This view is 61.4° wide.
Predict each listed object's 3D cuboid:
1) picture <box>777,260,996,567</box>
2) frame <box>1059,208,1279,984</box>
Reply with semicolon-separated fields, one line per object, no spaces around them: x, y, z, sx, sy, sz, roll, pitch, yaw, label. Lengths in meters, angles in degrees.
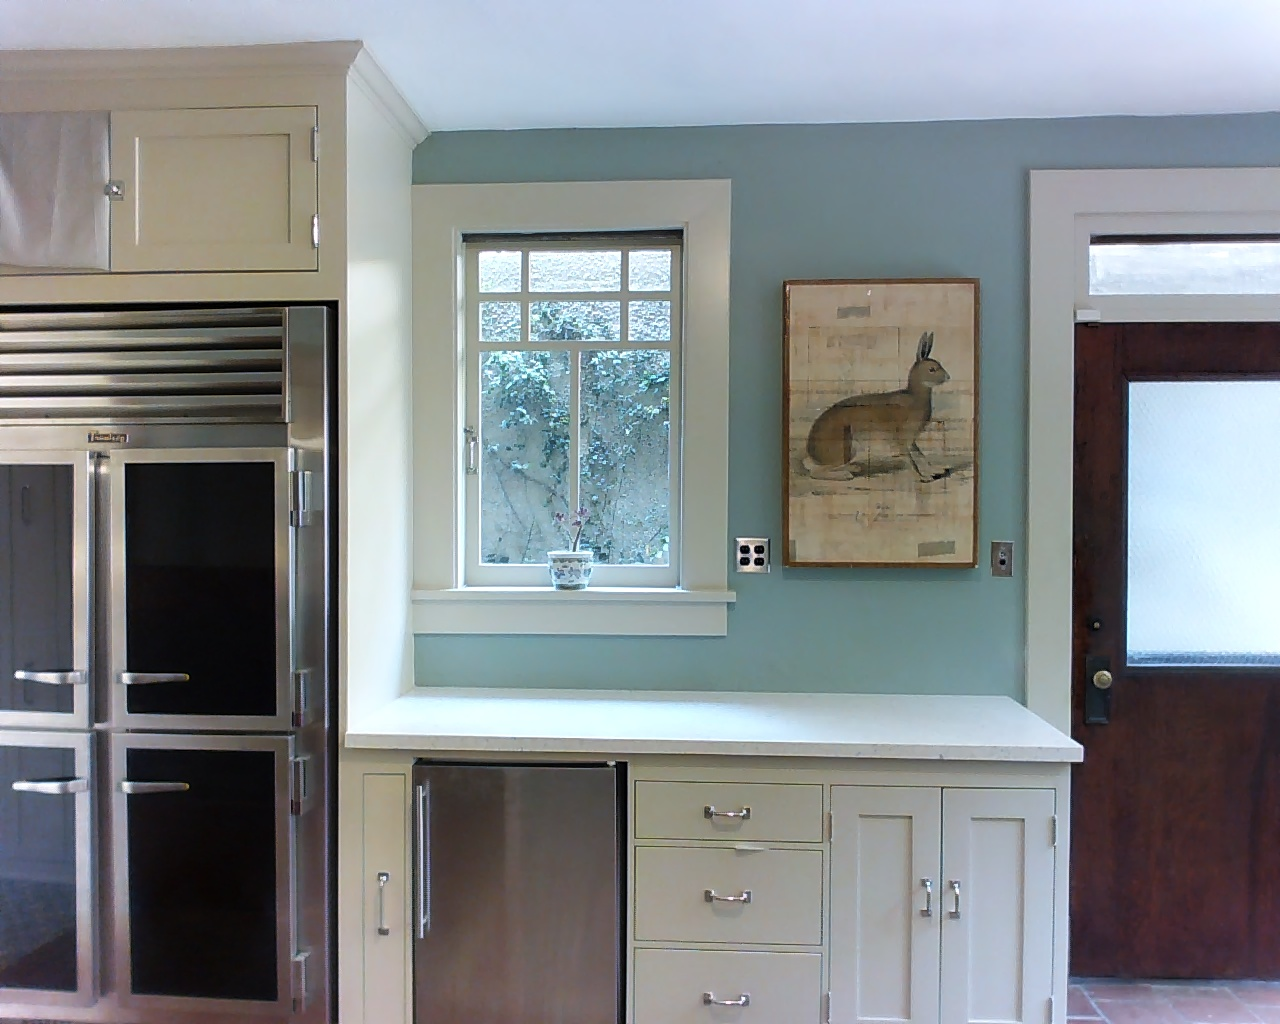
0.780;-0.310;3.440;0.670;0.960;0.070;0;1;4;picture
1.860;0.270;3.420;0.980;2.430;0.080;0;1;4;frame
